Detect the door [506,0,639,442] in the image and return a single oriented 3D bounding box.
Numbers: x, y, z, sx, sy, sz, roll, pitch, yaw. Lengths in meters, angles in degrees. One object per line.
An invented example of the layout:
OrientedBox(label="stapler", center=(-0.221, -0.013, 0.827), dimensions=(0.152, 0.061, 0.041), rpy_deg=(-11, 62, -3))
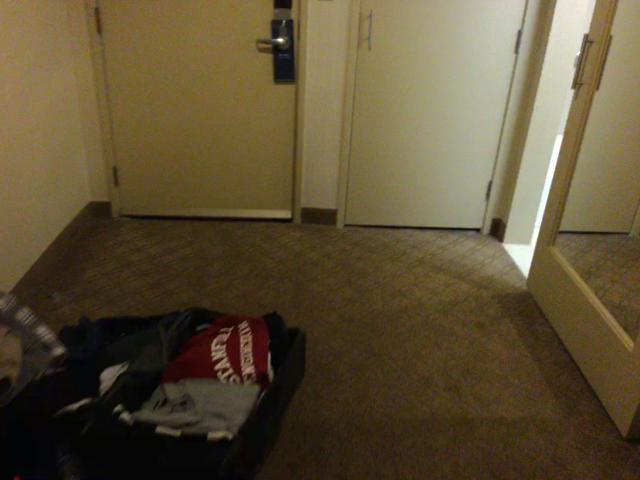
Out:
OrientedBox(label="door", center=(0.970, -0.210, 1.940), dimensions=(0.150, 1.360, 1.010), rpy_deg=(2, 26, -1))

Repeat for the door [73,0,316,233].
OrientedBox(label="door", center=(-0.550, -0.610, 2.730), dimensions=(1.020, 1.160, 0.170), rpy_deg=(2, 26, -1))

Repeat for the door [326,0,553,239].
OrientedBox(label="door", center=(0.530, -0.630, 2.870), dimensions=(0.940, 1.240, 0.230), rpy_deg=(2, 26, -1))
